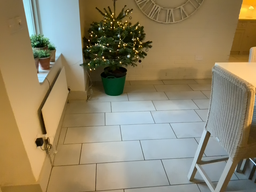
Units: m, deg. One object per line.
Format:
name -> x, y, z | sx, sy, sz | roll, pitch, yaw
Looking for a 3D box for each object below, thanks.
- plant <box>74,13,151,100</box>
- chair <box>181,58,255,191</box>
plant -> -0.220, -0.600, 3.120 | 0.930, 1.080, 0.750 | 0, 26, -4
chair -> 0.750, 0.270, 1.490 | 0.490, 0.970, 0.450 | -1, 26, -6
